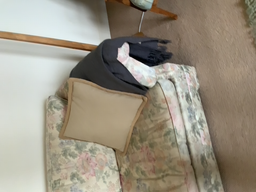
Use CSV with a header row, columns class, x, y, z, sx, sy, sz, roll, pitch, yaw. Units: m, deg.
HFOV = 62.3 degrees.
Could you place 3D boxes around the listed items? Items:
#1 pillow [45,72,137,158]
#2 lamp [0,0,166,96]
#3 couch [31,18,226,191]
class,x,y,z,sx,sy,sz,roll,pitch,yaw
pillow,-0.200,0.120,1.340,0.230,0.460,0.430,-98,1,-62
lamp,-0.610,-0.350,1.370,0.610,1.720,0.520,-26,69,48
couch,0.000,0.760,1.280,0.900,0.770,2.010,-21,74,49
